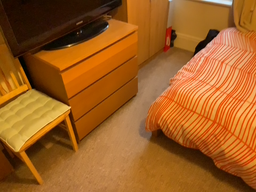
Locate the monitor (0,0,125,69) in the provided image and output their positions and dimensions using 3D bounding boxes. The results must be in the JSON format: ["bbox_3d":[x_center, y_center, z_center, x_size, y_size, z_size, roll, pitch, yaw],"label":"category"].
[{"bbox_3d":[-0.380,-0.790,1.440,0.090,0.740,1.150,21,46,25],"label":"monitor"}]
